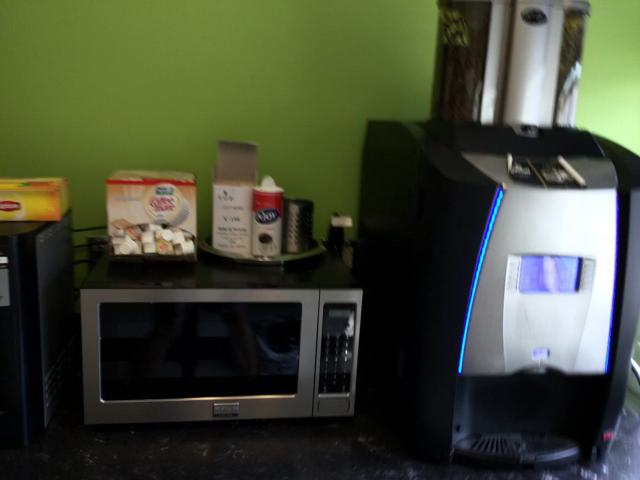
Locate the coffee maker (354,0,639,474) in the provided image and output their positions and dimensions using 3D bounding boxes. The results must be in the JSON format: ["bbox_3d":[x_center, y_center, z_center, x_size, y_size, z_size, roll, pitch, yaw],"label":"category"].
[{"bbox_3d":[0.390,-0.040,1.260,0.490,0.970,0.340,2,10,-11],"label":"coffee maker"}]

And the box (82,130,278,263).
[{"bbox_3d":[-0.340,-0.120,1.450,0.420,0.280,0.320,2,10,-11],"label":"box"}]
